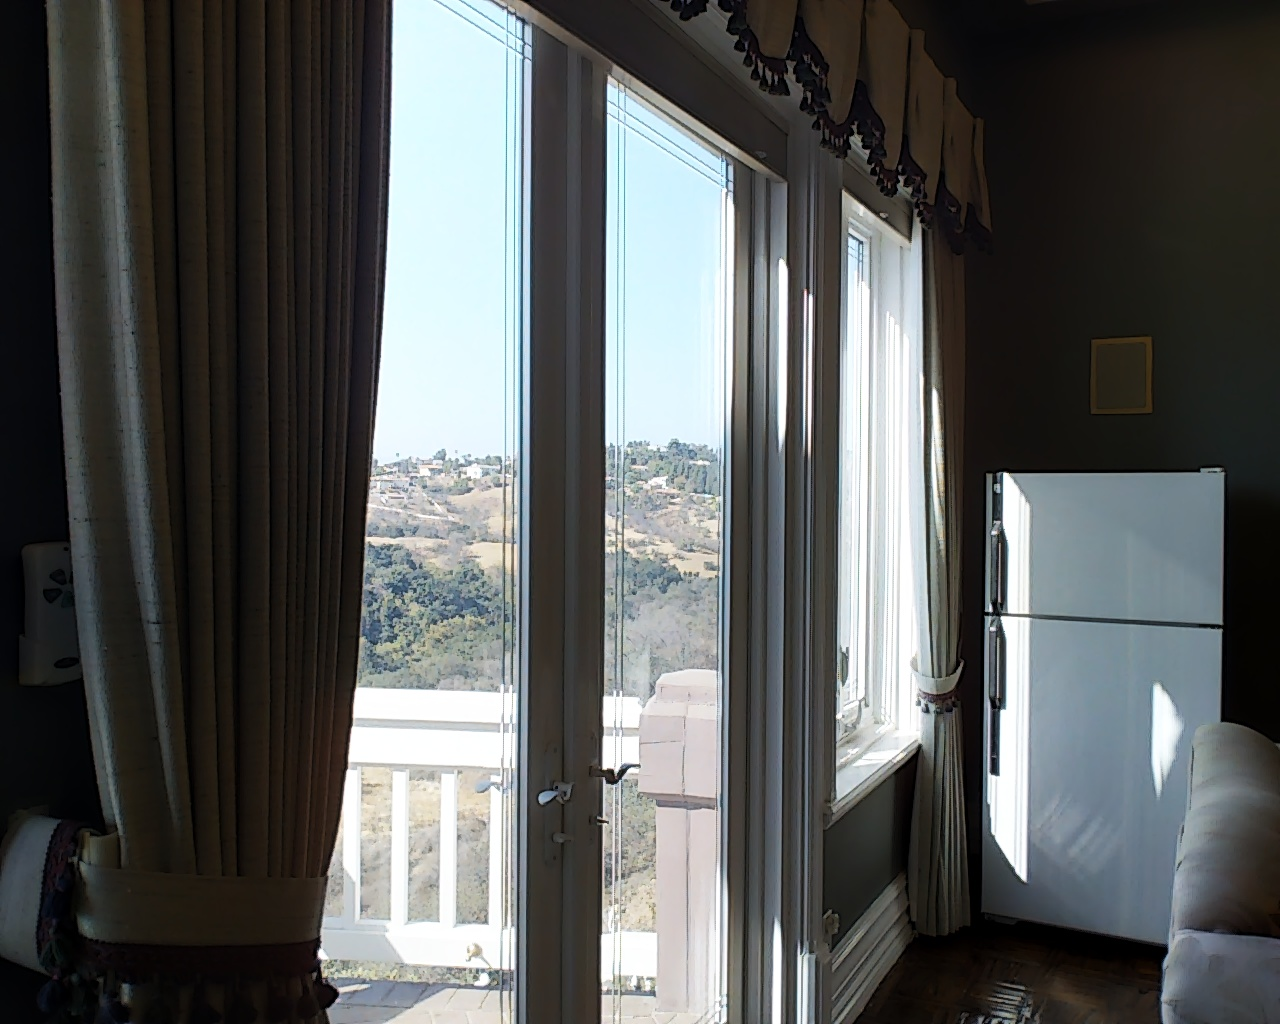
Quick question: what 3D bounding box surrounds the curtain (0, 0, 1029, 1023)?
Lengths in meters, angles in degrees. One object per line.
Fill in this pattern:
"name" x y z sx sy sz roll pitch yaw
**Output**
"curtain" 0.390 -0.030 2.370 0.250 2.900 3.580 1 1 29
